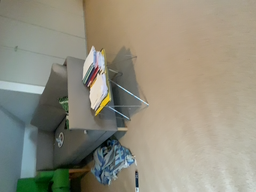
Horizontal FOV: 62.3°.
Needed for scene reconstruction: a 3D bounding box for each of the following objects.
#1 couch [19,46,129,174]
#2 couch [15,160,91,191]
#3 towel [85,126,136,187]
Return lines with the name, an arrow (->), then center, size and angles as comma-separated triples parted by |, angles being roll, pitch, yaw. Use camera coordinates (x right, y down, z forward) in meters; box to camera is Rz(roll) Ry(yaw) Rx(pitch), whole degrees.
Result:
couch -> -0.860, 0.360, 2.860 | 1.850, 0.780, 0.900 | -43, 48, 46
couch -> -1.060, 1.370, 2.910 | 0.870, 0.800, 0.720 | -42, 48, 46
towel -> -0.240, 0.700, 2.360 | 0.860, 0.140, 0.400 | -46, 46, 44
